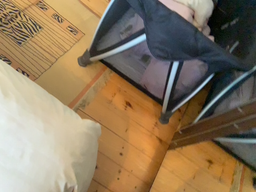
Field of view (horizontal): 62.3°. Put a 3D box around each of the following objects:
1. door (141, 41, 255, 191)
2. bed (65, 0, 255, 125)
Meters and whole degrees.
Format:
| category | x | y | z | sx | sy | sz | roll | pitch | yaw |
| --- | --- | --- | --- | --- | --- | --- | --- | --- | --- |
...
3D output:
| category | x | y | z | sx | sy | sz | roll | pitch | yaw |
| --- | --- | --- | --- | --- | --- | --- | --- | --- | --- |
| door | 0.750 | -0.160 | 0.520 | 0.050 | 2.320 | 1.020 | 37 | 61 | -4 |
| bed | 0.260 | -0.510 | 1.360 | 0.820 | 0.710 | 0.960 | 34 | 62 | -6 |
